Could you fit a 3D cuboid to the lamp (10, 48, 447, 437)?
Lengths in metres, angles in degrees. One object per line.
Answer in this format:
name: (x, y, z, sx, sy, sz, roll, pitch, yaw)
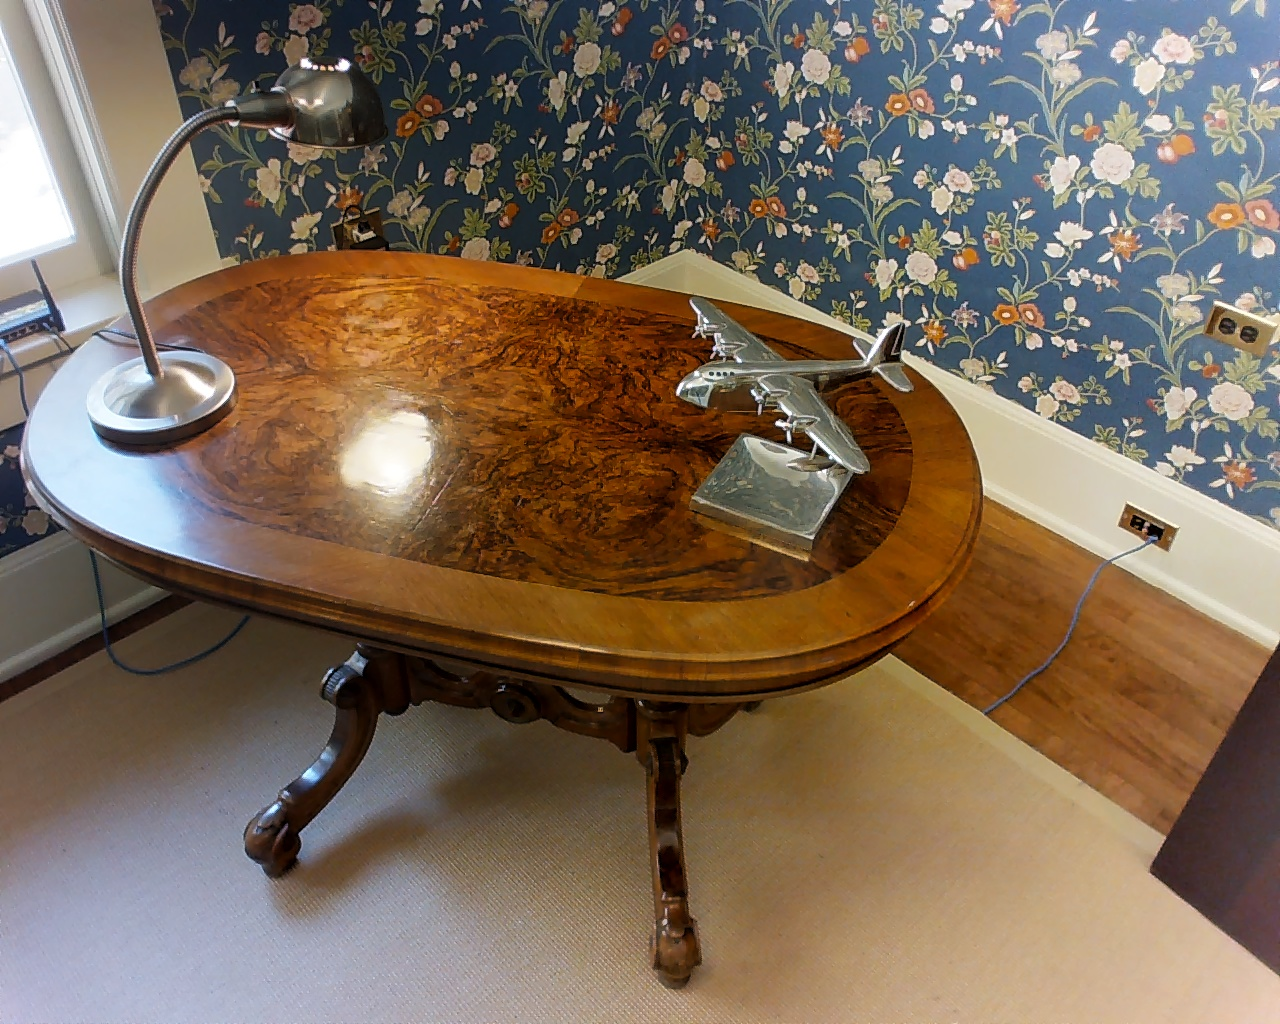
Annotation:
lamp: (-0.470, -0.340, 1.330, 0.440, 0.330, 0.110, -32, 51, -31)
